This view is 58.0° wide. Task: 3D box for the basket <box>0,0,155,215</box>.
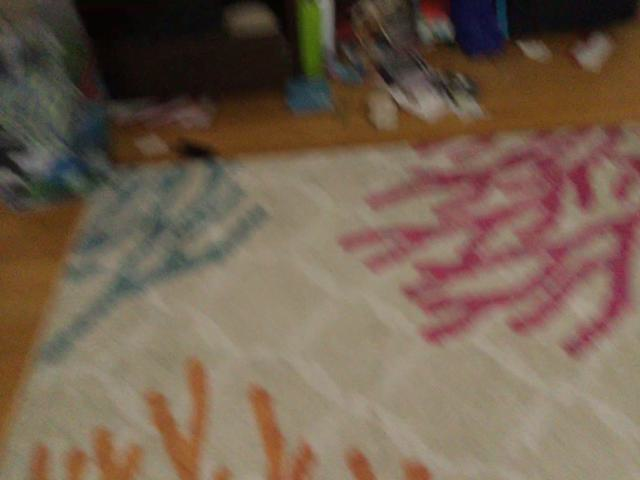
[{"bbox_3d":[-0.890,-0.480,1.810,0.480,0.620,0.480,-4,48,4],"label":"basket"}]
